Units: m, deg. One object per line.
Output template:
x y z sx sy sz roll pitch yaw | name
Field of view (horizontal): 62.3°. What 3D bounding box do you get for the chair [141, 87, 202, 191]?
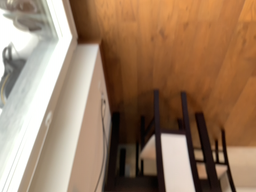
0.310 0.440 1.820 0.340 0.930 0.480 4 140 -1 | chair
